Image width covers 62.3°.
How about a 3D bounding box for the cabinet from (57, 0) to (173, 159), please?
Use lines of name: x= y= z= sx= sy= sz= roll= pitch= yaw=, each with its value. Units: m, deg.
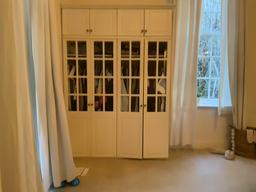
cabinet: x=-0.180 y=-0.230 z=3.180 sx=1.540 sy=2.210 sz=0.490 roll=1 pitch=6 yaw=2
